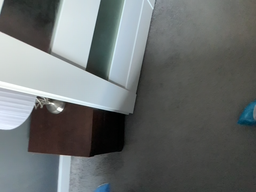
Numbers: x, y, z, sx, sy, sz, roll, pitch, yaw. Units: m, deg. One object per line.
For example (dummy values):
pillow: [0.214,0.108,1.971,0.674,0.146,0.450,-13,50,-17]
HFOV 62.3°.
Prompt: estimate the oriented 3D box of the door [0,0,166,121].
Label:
door: [-0.290,-0.420,0.510,0.100,2.040,0.850,12,86,25]
